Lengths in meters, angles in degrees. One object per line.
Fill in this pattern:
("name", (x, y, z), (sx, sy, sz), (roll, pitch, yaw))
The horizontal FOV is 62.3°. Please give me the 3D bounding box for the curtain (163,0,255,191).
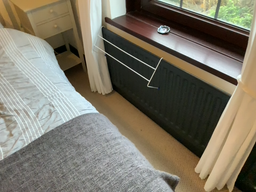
("curtain", (0.410, -0.400, 0.570), (0.120, 2.450, 0.510), (-31, 50, -26))
